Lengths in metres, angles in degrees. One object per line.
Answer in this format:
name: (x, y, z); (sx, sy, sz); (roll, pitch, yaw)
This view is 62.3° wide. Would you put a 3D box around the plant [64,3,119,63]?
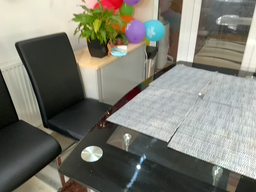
plant: (-0.290, -0.560, 1.830); (0.250, 0.420, 0.380); (16, 31, 27)
